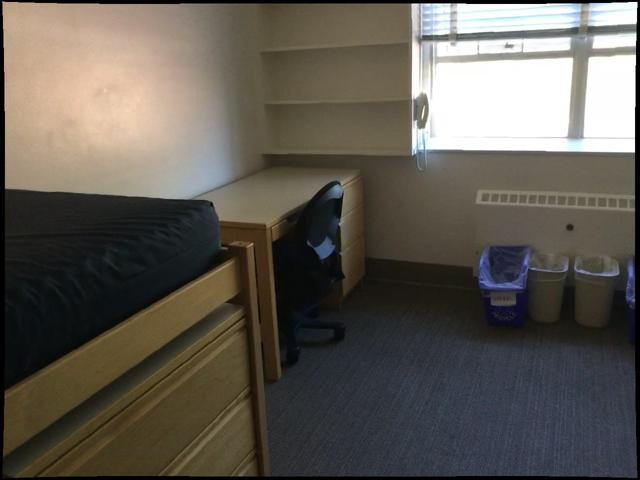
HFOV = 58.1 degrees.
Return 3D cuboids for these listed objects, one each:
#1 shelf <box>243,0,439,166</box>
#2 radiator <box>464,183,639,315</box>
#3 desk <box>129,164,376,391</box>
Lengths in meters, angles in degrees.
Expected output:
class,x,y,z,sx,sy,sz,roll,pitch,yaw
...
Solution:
class,x,y,z,sx,sy,sz,roll,pitch,yaw
shelf,0.130,-0.902,3.440,1.098,0.862,0.290,4,19,25
radiator,1.366,0.040,3.120,1.128,0.652,0.140,4,19,25
desk,-0.259,0.090,3.230,0.709,0.782,1.350,4,19,25
